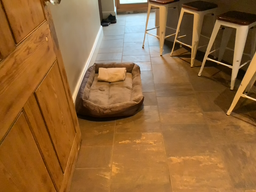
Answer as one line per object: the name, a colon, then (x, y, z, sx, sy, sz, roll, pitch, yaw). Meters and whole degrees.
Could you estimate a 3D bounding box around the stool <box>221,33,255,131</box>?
stool: (1.120, -0.120, 1.700, 0.430, 0.670, 0.410, -30, 44, -33)

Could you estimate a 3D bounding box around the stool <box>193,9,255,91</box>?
stool: (1.040, -0.490, 2.220, 0.430, 0.660, 0.420, -28, 43, -30)

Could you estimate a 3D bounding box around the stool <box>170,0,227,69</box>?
stool: (0.840, -0.770, 2.620, 0.410, 0.660, 0.410, -24, 41, -26)
